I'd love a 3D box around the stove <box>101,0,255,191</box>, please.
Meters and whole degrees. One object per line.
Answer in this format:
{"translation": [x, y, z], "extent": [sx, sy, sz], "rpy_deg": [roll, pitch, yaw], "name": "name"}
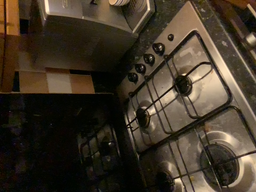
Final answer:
{"translation": [0.100, 0.110, 0.700], "extent": [0.540, 0.040, 0.610], "rpy_deg": [-46, 53, 47], "name": "stove"}
